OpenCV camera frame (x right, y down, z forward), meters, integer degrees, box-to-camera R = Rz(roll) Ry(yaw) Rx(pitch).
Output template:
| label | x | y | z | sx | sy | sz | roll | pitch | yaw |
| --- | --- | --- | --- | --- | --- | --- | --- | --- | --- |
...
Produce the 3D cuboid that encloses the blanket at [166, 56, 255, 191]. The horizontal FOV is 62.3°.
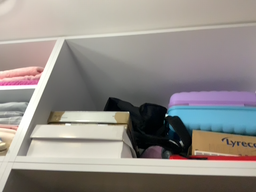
| label | x | y | z | sx | sy | sz | roll | pitch | yaw |
| --- | --- | --- | --- | --- | --- | --- | --- | --- | --- |
| blanket | 0.410 | 0.160 | 0.950 | 0.440 | 0.530 | 0.390 | -3 | -38 | 10 |
